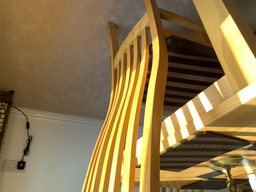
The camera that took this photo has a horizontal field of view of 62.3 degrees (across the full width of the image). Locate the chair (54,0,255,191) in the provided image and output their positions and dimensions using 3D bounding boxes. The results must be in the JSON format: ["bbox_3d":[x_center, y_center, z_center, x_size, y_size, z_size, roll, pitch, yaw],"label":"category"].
[{"bbox_3d":[0.110,-0.020,0.780,0.570,1.050,0.460,14,141,-29],"label":"chair"}]
